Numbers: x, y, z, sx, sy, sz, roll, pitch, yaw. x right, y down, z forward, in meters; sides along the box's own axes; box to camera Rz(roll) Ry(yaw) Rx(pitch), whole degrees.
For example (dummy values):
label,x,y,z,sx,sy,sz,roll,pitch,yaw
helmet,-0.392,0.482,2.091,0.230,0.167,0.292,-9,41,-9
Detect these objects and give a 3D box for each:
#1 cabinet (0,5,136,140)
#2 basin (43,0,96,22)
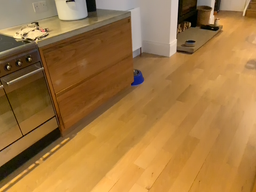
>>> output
label,x,y,z,sx,sy,sz,roll,pitch,yaw
cabinet,-0.530,-0.350,2.230,0.700,0.920,1.130,19,39,31
basin,-0.570,-0.900,2.040,0.410,0.260,0.280,21,40,33
